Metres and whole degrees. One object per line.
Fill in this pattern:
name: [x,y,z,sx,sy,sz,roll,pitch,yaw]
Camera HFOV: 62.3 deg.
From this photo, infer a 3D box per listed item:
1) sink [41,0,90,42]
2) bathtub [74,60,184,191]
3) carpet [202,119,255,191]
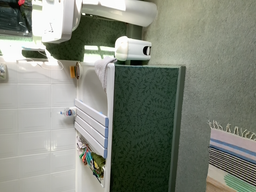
sink: [-0.460,-0.770,1.510,0.460,0.240,0.700,17,106,59]
bathtub: [-0.070,0.550,1.800,0.720,0.580,1.660,17,106,59]
carpet: [0.610,0.610,1.190,0.460,0.020,0.870,18,107,59]
